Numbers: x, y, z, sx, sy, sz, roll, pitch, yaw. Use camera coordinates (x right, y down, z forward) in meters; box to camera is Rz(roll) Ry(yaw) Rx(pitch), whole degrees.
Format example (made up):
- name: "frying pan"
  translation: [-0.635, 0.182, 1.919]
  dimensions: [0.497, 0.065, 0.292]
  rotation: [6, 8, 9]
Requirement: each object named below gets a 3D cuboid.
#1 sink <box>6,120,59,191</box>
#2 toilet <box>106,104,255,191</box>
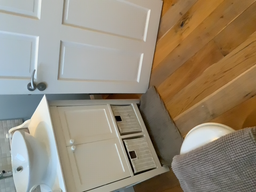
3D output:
- name: "sink"
  translation: [-0.650, 0.440, 1.390]
  dimensions: [0.450, 0.150, 0.390]
  rotation: [-44, 59, 40]
- name: "toilet"
  translation: [0.430, 0.430, 0.930]
  dimensions: [0.390, 0.800, 0.640]
  rotation: [-44, 59, 40]
